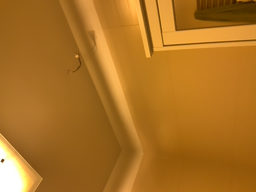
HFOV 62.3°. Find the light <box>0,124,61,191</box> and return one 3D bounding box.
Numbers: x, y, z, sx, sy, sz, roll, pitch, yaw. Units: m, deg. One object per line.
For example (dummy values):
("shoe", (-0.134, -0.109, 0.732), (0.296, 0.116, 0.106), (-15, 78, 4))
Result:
("light", (-0.410, 0.240, 0.800), (0.190, 0.260, 0.090), (-8, -48, 34))
